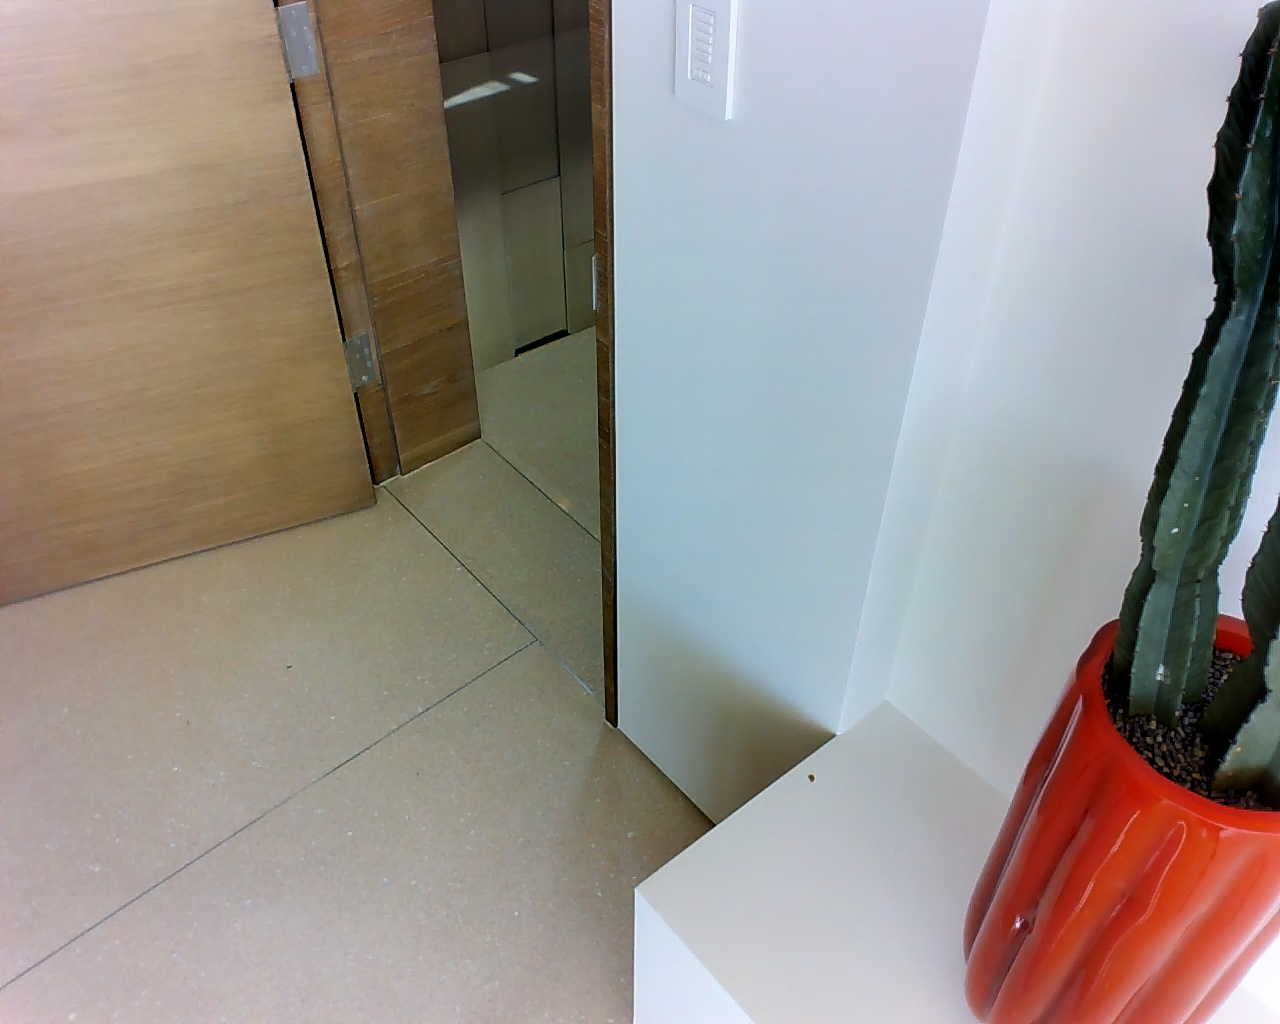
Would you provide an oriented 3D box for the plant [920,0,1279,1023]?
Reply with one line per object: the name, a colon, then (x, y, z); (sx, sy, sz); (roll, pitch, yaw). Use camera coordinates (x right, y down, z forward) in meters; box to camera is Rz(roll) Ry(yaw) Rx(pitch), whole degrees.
plant: (0.410, 0.120, 0.730); (0.220, 1.030, 0.220); (3, 41, 3)
